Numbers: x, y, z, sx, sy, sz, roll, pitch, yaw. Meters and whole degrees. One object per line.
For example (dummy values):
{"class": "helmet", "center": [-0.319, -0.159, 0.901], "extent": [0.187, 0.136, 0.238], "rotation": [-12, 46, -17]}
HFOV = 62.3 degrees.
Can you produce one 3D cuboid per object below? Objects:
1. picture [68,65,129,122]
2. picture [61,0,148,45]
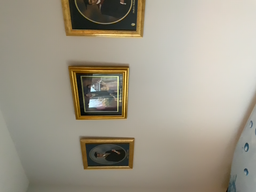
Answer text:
{"class": "picture", "center": [-0.160, 0.000, 1.190], "extent": [0.030, 0.310, 0.350], "rotation": [-89, 2, -56]}
{"class": "picture", "center": [-0.100, -0.380, 0.930], "extent": [0.020, 0.370, 0.300], "rotation": [-89, 2, -57]}
